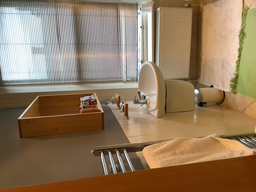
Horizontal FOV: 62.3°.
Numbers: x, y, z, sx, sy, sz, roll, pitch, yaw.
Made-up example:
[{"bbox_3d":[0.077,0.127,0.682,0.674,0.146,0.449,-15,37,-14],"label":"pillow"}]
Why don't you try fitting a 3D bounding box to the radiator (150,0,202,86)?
[{"bbox_3d":[0.550,-0.610,2.480,0.120,0.570,0.950,-142,50,-72],"label":"radiator"}]
